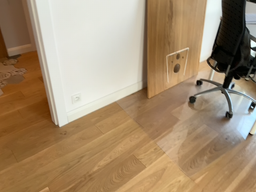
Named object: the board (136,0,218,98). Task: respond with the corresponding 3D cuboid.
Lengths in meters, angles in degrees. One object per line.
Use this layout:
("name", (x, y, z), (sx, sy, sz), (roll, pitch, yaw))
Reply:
("board", (0.520, -0.680, 2.160), (0.860, 1.230, 0.220), (-25, 44, -33))
